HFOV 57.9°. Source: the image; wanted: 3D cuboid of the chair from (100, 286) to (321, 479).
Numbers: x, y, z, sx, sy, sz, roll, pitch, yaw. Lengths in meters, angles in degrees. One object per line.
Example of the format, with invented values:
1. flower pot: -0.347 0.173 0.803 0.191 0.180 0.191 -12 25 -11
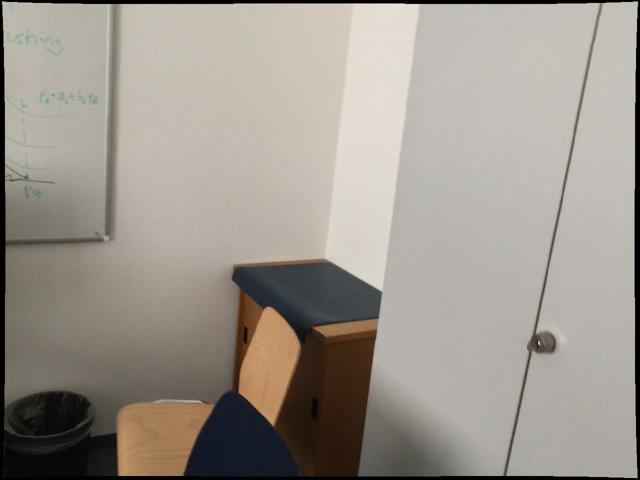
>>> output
1. chair: -0.380 0.571 1.830 0.579 0.691 0.470 -1 19 -21

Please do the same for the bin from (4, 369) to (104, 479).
1. bin: -0.959 0.711 2.080 0.290 0.310 0.350 -4 20 -27
